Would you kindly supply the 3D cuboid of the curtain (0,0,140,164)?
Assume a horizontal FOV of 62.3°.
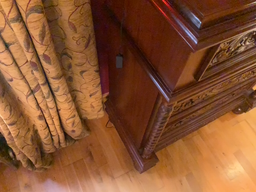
[{"bbox_3d":[-0.270,-0.360,0.480,0.590,2.290,0.250,-24,64,-17],"label":"curtain"}]
